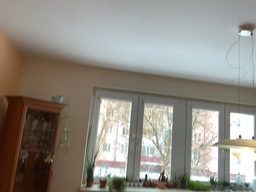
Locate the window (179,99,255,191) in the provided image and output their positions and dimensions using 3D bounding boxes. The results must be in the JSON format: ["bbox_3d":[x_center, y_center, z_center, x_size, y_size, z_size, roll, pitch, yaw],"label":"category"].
[{"bbox_3d":[1.600,0.830,3.620,1.430,1.420,0.090,6,-9,-8],"label":"window"}]

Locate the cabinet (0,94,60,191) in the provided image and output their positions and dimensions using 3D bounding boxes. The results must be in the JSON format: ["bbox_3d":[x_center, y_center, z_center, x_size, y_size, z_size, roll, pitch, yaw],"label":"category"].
[{"bbox_3d":[-1.290,1.020,2.460,0.650,1.970,0.670,6,-10,-10],"label":"cabinet"}]

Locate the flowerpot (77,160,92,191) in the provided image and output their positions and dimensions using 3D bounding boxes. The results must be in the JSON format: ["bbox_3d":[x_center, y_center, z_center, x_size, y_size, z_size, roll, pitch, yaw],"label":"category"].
[{"bbox_3d":[-0.620,1.130,3.050,0.160,0.380,0.190,6,-9,-6],"label":"flowerpot"}]

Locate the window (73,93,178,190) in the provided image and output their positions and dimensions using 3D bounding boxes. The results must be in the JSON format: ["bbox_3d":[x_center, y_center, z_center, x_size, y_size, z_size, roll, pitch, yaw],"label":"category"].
[{"bbox_3d":[-0.010,0.710,3.330,1.490,1.320,0.320,6,-9,-9],"label":"window"}]
